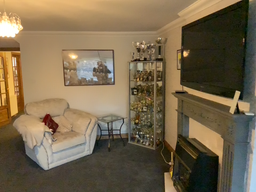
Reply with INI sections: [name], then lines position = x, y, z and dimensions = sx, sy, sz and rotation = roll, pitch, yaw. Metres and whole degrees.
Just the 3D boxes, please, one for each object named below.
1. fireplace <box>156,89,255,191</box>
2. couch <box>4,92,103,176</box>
[fireplace]
position = 0.760, 0.630, 2.380
dimensions = 0.560, 1.230, 1.440
rotation = -1, 9, -5
[couch]
position = -1.310, 0.550, 3.840
dimensions = 1.340, 1.000, 1.020
rotation = -9, 13, -43
